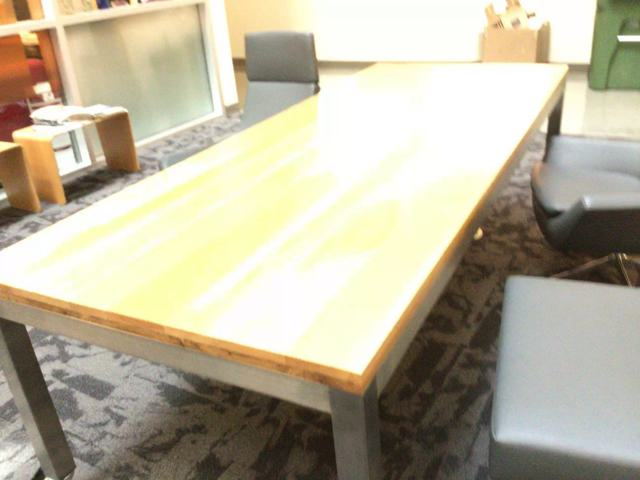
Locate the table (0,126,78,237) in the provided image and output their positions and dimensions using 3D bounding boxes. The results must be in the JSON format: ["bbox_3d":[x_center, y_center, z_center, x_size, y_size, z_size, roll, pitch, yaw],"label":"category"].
[{"bbox_3d":[-2.080,-0.330,3.450,0.690,0.490,0.830,9,28,31],"label":"table"}]

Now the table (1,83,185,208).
[{"bbox_3d":[-1.480,-0.670,3.870,0.620,0.540,0.850,15,32,34],"label":"table"}]

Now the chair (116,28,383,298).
[{"bbox_3d":[-0.290,-0.420,2.680,0.780,0.950,0.790,-26,31,-37],"label":"chair"}]

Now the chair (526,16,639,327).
[{"bbox_3d":[1.170,-0.280,2.100,0.750,0.950,0.710,2,25,19],"label":"chair"}]
